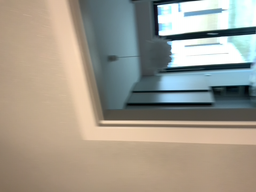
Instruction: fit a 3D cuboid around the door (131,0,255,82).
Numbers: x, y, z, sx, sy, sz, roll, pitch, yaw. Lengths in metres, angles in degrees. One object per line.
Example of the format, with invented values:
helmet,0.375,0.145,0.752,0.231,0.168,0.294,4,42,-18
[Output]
door,1.430,-1.120,4.480,0.120,2.610,1.620,-65,-28,-63
